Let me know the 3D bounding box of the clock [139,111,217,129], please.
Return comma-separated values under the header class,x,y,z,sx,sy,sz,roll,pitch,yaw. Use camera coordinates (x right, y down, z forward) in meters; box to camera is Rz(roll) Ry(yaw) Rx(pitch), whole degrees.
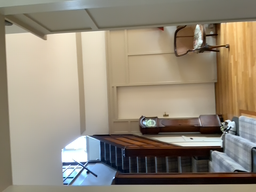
class,x,y,z,sx,sy,sz,roll,pitch,yaw
clock,0.920,0.460,4.060,0.350,1.410,0.290,36,-127,-85
